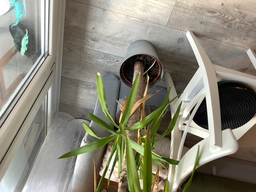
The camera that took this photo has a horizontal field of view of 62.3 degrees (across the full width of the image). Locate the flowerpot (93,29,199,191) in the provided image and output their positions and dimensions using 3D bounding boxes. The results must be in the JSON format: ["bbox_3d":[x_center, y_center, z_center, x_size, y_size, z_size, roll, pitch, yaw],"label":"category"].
[{"bbox_3d":[0.060,0.050,1.170,0.270,0.990,0.360,20,128,-15],"label":"flowerpot"}]
